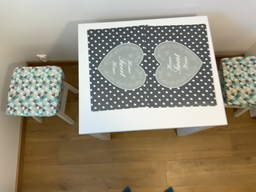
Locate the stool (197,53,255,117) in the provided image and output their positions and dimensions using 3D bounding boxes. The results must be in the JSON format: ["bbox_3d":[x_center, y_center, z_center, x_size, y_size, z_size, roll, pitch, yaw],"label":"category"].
[{"bbox_3d":[0.780,-0.050,1.570,0.340,0.510,0.330,-1,75,0],"label":"stool"}]

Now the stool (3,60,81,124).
[{"bbox_3d":[-0.590,0.000,1.580,0.330,0.490,0.340,3,75,1],"label":"stool"}]
